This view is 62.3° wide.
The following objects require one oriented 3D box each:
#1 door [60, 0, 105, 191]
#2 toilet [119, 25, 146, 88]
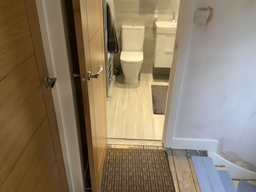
[{"bbox_3d":[-0.240,-0.200,1.320,0.060,2.030,0.700,1,30,0],"label":"door"},{"bbox_3d":[0.060,-0.620,3.280,0.360,0.800,0.600,2,30,2],"label":"toilet"}]
